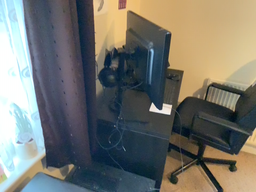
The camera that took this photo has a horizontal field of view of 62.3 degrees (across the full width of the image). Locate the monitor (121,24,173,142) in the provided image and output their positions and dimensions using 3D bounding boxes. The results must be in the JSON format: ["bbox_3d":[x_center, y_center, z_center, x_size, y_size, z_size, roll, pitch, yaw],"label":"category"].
[{"bbox_3d":[0.070,-0.120,1.280,0.060,0.490,0.620,-3,29,-14],"label":"monitor"}]
